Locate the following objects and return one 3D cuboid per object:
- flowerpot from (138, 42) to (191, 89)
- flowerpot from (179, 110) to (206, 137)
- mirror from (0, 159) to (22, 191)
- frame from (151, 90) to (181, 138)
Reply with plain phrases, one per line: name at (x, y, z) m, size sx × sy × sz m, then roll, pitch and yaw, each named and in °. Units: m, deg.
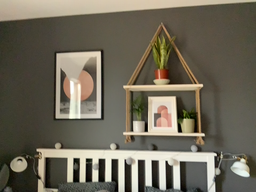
flowerpot at (0.330, -0.270, 1.960) m, size 0.460 × 0.390 × 0.150 m, roll -1°, pitch -4°, yaw 12°
flowerpot at (0.580, 0.240, 1.930) m, size 0.220 × 0.230 × 0.200 m, roll -1°, pitch -4°, yaw 15°
mirror at (-1.210, 0.820, 2.090) m, size 0.220 × 0.350 × 0.190 m, roll 0°, pitch -4°, yaw 6°
frame at (0.340, 0.160, 1.930) m, size 0.260 × 0.410 × 0.160 m, roll 0°, pitch -4°, yaw 8°
